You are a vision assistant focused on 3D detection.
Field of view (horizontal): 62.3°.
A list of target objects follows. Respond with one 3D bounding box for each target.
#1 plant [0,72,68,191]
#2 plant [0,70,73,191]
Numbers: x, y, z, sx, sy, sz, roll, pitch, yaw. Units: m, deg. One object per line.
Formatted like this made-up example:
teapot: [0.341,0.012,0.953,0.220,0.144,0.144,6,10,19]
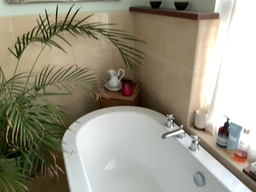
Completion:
plant: [-0.810,0.470,1.190,0.820,0.960,0.620,-9,27,-16]
plant: [-0.980,0.320,1.670,0.910,0.760,0.680,-9,27,-17]
